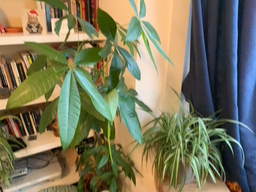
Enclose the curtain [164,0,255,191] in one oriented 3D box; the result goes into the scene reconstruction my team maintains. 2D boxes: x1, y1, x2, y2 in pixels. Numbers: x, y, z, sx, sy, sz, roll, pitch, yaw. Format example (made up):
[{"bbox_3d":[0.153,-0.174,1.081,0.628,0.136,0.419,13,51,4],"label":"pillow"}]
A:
[{"bbox_3d":[0.540,-0.440,1.120,0.390,2.050,0.380,-11,24,-28],"label":"curtain"}]
